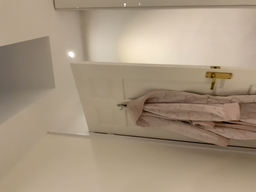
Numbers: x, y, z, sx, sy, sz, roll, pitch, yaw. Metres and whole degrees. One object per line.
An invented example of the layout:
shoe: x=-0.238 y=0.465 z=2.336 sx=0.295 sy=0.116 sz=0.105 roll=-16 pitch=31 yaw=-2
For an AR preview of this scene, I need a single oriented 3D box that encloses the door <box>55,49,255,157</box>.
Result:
door: x=0.560 y=0.100 z=1.660 sx=0.160 sy=2.110 sz=0.870 roll=-75 pitch=-15 yaw=-48
